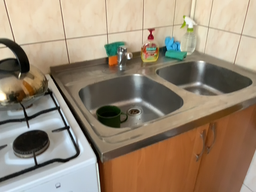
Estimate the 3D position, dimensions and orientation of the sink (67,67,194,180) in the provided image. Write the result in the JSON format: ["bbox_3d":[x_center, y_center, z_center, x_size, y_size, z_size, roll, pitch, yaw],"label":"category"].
[{"bbox_3d":[-0.010,0.070,0.870,0.360,0.200,0.370,-15,33,-24],"label":"sink"}]

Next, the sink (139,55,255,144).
[{"bbox_3d":[0.310,-0.020,1.020,0.370,0.200,0.370,-15,33,-24],"label":"sink"}]
